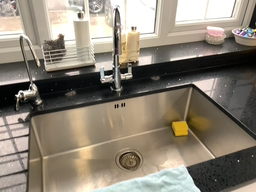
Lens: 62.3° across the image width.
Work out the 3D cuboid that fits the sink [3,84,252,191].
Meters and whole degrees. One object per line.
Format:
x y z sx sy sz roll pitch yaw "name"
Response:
0.000 0.200 0.800 0.750 0.240 0.350 -10 35 -17 "sink"
